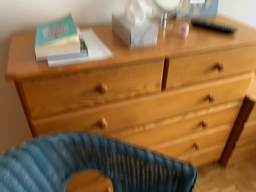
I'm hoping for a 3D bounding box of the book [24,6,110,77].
[{"bbox_3d":[-0.240,-0.230,0.810,0.250,0.130,0.320,-13,38,-19],"label":"book"}]
